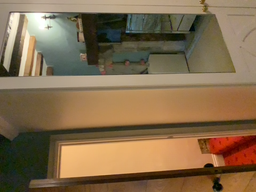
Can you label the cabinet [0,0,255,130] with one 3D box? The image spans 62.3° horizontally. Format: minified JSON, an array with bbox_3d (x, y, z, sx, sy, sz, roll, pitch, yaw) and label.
[{"bbox_3d":[0.170,-0.710,1.730,0.710,2.270,1.730,104,163,-63],"label":"cabinet"}]
